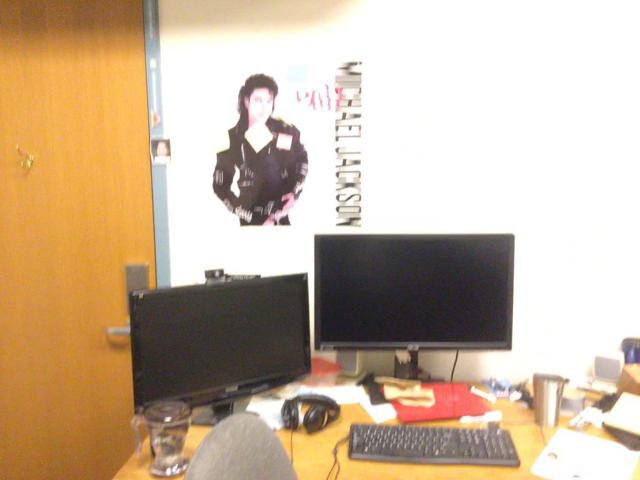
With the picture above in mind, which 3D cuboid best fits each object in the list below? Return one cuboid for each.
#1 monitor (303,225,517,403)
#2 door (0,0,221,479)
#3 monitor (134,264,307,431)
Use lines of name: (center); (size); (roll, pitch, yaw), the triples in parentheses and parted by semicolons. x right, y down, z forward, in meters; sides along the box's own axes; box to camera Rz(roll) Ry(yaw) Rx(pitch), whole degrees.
monitor: (0.280, 0.230, 1.850); (0.630, 0.520, 0.180); (-2, 6, 5)
door: (-0.970, 0.130, 2.070); (1.110, 2.090, 0.160); (-2, 6, 5)
monitor: (-0.290, 0.300, 1.720); (0.460, 0.400, 0.150); (-5, 6, -23)
